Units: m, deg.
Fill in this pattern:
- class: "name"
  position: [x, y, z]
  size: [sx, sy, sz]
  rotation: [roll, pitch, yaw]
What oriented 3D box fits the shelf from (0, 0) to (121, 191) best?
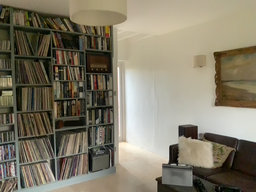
- class: "shelf"
  position: [-1.120, 0.070, 3.120]
  size: [2.090, 2.630, 0.350]
  rotation: [-3, 4, -32]
